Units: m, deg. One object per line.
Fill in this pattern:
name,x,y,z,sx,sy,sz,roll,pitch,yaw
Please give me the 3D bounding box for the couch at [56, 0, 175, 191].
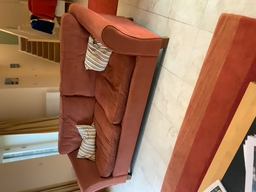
couch,-0.350,0.150,2.680,0.900,0.880,2.280,-127,42,-50
